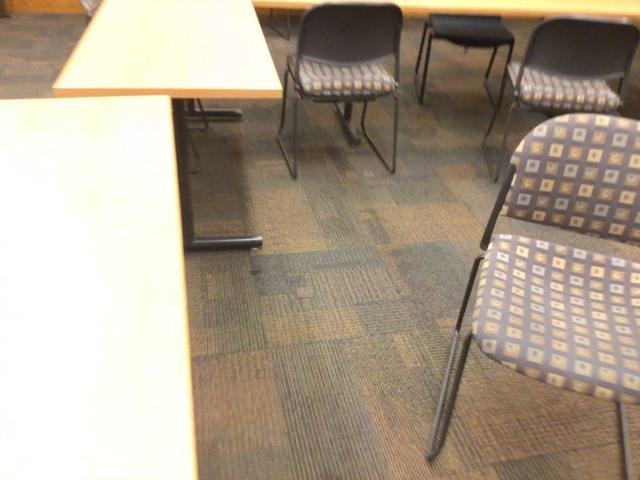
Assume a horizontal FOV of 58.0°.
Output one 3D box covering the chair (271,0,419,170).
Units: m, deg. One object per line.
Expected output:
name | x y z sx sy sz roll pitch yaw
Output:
chair | 0.070 -0.780 2.640 0.510 0.720 0.540 -5 34 -12

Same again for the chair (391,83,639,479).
chair | 0.570 0.130 1.360 0.550 0.750 0.610 17 36 20

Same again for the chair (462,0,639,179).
chair | 1.020 -0.740 2.640 0.510 0.720 0.560 2 33 -1
